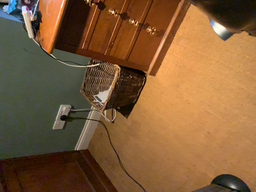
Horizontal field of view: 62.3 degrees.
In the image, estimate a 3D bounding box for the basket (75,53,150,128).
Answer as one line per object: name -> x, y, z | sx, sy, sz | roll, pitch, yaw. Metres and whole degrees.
basket -> -0.130, -0.040, 1.650 | 0.340, 0.320, 0.440 | 39, 114, 39
